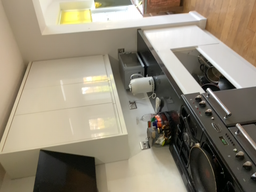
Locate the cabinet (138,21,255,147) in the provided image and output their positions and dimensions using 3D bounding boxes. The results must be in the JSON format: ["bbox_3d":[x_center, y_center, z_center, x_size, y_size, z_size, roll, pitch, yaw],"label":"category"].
[{"bbox_3d":[0.720,-0.270,2.370,1.470,0.890,0.590,-107,13,-51],"label":"cabinet"}]
